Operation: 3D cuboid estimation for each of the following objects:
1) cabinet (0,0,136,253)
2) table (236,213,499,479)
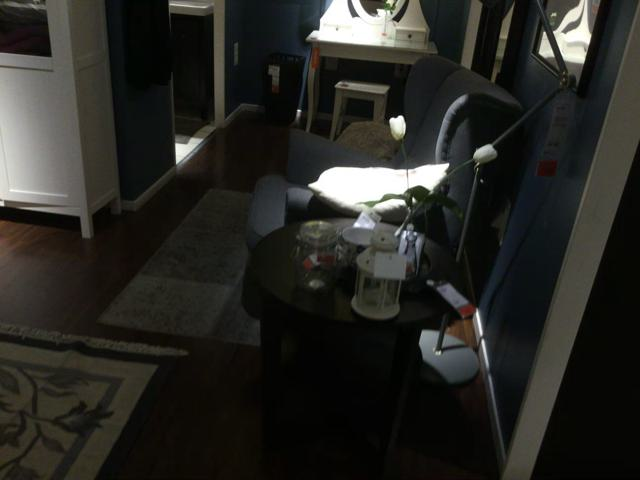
[{"bbox_3d":[-1.420,-0.970,2.500,1.000,2.000,0.440,5,27,-1],"label":"cabinet"},{"bbox_3d":[0.100,0.310,1.700,0.590,0.530,0.590,5,27,-1],"label":"table"}]
